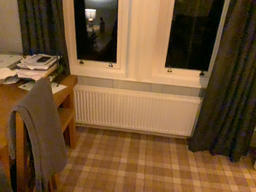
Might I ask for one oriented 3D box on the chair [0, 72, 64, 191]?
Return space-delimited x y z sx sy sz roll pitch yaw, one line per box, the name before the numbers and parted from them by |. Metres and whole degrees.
chair | -0.690 0.390 1.220 0.460 0.990 0.350 5 28 2
